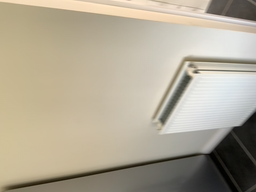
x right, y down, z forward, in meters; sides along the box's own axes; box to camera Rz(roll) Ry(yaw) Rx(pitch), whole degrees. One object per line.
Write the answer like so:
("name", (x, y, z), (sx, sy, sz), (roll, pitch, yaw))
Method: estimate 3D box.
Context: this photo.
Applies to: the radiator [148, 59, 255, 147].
("radiator", (0.630, 0.070, 1.420), (0.660, 0.800, 0.150), (114, 146, -46))
